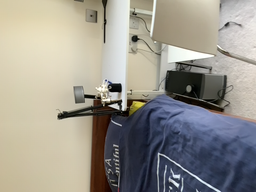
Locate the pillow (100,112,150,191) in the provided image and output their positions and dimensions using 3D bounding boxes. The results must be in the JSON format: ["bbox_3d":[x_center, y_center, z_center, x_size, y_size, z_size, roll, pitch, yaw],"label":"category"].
[{"bbox_3d":[-0.040,0.450,1.530,0.360,0.180,0.600,19,107,62],"label":"pillow"}]
